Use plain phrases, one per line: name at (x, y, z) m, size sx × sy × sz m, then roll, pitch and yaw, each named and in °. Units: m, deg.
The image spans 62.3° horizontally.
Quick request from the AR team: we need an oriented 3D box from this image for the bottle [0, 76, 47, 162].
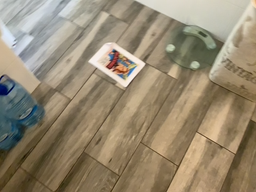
bottle at (-0.610, 0.100, 0.970) m, size 0.200 × 0.380 × 0.300 m, roll 31°, pitch 70°, yaw 10°
